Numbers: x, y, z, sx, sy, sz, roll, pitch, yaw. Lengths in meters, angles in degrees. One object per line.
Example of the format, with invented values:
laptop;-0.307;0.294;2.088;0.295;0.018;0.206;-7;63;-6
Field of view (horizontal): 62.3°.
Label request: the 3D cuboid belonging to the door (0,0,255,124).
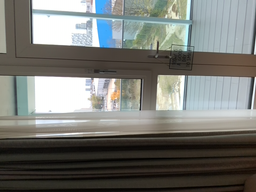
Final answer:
door;-0.010;-0.430;1.680;0.080;2.500;1.290;-150;61;-78
